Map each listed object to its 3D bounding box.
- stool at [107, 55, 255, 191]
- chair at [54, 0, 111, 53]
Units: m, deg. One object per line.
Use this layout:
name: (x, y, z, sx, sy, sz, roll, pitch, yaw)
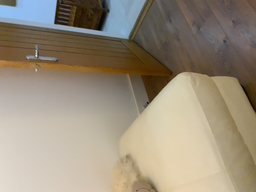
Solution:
stool: (0.320, 0.460, 1.140, 0.900, 0.460, 0.930, 127, 137, -50)
chair: (-0.720, -1.110, 3.160, 0.910, 0.630, 0.350, 127, 137, -51)
